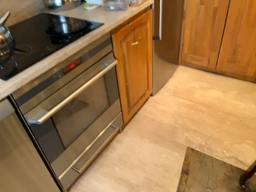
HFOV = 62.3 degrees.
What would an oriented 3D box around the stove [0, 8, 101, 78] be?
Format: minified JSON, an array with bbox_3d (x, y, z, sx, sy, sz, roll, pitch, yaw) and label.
[{"bbox_3d":[-0.530,-0.320,1.080,0.540,0.010,0.590,19,46,26],"label":"stove"}]
